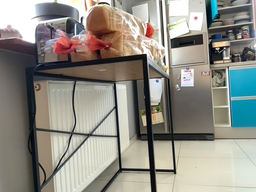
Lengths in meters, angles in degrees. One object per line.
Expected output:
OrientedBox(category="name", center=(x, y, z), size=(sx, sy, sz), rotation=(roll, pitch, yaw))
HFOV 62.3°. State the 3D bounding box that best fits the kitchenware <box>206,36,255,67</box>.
OrientedBox(category="kitchenware", center=(1.420, -0.580, 2.830), size=(0.660, 0.280, 0.490), rotation=(-3, 1, 15))
